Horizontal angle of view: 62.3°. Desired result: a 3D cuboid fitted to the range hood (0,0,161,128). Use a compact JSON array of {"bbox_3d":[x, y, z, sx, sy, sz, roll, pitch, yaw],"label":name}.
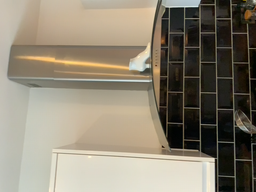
[{"bbox_3d":[-0.270,-0.190,1.270,0.370,0.890,0.710,59,-147,-81],"label":"range hood"}]
